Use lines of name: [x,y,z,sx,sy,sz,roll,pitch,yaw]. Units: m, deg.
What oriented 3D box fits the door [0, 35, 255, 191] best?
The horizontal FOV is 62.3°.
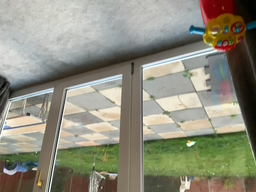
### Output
door: [-0.330,0.720,1.700,2.550,2.040,0.090,-12,151,25]
